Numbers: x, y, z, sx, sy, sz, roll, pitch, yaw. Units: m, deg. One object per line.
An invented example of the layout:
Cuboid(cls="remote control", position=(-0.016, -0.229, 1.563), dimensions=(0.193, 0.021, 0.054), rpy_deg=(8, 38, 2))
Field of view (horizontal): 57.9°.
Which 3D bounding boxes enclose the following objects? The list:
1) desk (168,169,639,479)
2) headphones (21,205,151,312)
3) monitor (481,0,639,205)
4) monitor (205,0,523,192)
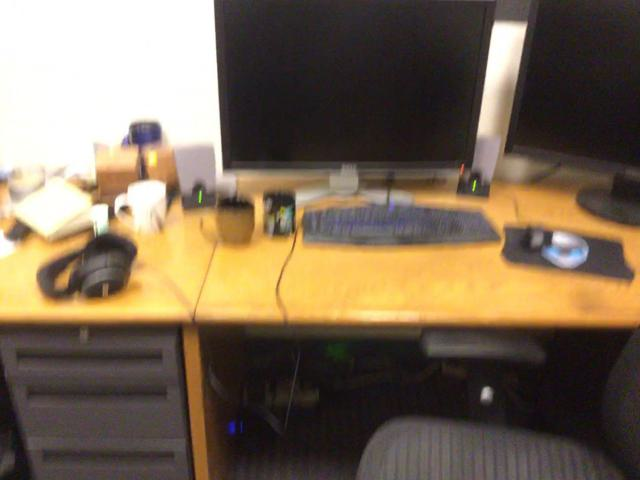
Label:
Cuboid(cls="desk", position=(0.610, 0.290, 1.630), dimensions=(1.820, 0.730, 0.900), rpy_deg=(0, 25, -3))
Cuboid(cls="headphones", position=(-0.470, 0.030, 1.200), dimensions=(0.170, 0.120, 0.250), rpy_deg=(0, 25, -3))
Cuboid(cls="monitor", position=(0.810, -0.360, 1.460), dimensions=(0.690, 0.490, 0.210), rpy_deg=(14, 28, 26))
Cuboid(cls="monitor", position=(0.100, -0.370, 1.490), dimensions=(0.740, 0.480, 0.110), rpy_deg=(0, 25, -3))
